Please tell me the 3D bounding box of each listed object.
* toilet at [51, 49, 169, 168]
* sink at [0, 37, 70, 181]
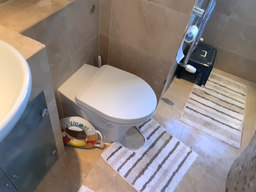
[{"bbox_3d":[-0.120,0.080,1.440,0.580,0.460,0.410,25,49,12],"label":"toilet"},{"bbox_3d":[-0.540,0.050,0.640,0.460,0.200,0.540,25,49,12],"label":"sink"}]
